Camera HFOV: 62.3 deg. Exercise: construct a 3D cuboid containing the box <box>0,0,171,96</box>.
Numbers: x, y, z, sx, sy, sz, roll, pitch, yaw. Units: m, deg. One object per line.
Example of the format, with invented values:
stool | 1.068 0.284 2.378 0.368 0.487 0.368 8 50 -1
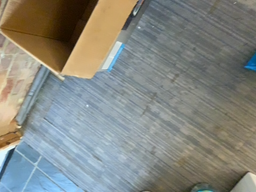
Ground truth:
box | -0.130 -0.390 0.920 0.390 0.510 0.600 38 106 7
